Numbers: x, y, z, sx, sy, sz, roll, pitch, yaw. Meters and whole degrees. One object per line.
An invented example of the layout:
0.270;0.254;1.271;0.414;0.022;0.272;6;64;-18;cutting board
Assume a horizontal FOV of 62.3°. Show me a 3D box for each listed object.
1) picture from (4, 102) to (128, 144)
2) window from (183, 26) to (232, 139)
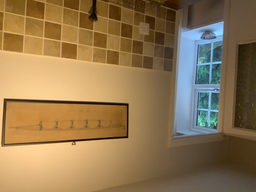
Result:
-0.340;0.160;1.350;0.770;0.220;0.040;3;-178;-33;picture
1.150;-0.200;3.150;0.080;1.540;0.610;3;-178;-41;window
